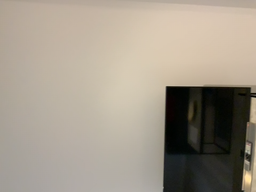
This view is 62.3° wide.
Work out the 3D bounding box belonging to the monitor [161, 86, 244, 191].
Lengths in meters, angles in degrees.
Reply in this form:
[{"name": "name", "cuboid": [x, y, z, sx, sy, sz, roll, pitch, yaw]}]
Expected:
[{"name": "monitor", "cuboid": [0.600, 0.490, 1.690, 0.060, 0.640, 1.100, -138, 45, -80]}]
